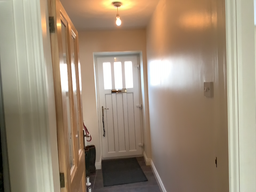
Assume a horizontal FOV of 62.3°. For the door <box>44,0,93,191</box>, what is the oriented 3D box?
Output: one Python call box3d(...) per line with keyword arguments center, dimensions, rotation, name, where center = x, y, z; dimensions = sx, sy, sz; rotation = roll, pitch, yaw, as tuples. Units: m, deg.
box3d(center=(-0.370, 0.400, 1.560), dimensions=(0.070, 1.990, 0.880), rotation=(-3, 5, -3), name="door")
